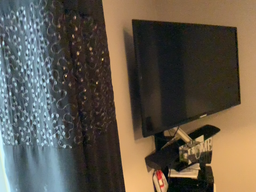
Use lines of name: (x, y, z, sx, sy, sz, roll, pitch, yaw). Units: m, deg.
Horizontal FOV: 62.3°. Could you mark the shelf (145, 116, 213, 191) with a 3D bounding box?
shelf: (0.430, 0.790, 1.560, 0.370, 1.190, 0.480, -4, 7, 21)
